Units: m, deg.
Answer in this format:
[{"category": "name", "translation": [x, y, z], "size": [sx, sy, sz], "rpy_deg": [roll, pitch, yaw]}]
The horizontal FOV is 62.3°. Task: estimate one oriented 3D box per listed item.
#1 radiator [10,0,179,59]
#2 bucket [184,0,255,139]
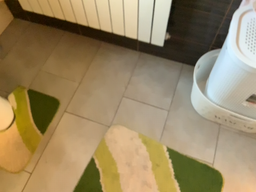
[{"category": "radiator", "translation": [-0.250, -0.610, 1.160], "size": [1.050, 0.690, 0.150], "rpy_deg": [18, 65, 9]}, {"category": "bucket", "translation": [0.600, -0.100, 1.070], "size": [0.420, 0.630, 0.350], "rpy_deg": [19, 65, 10]}]
